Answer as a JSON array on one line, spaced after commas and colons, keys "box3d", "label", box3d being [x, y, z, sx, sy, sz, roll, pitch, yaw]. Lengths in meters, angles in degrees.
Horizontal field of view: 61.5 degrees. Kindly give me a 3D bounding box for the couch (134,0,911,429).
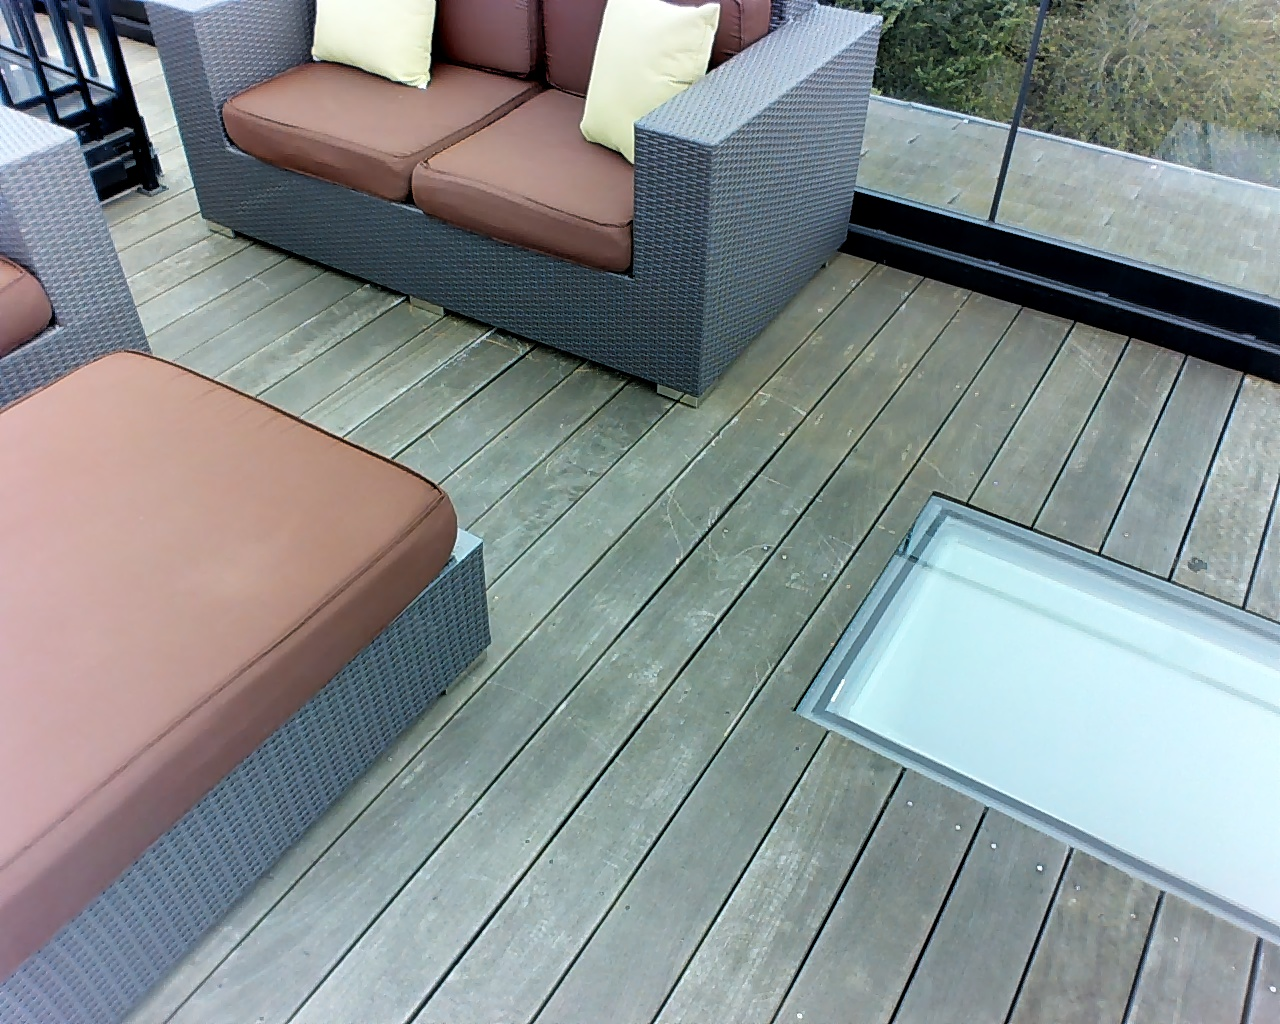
[{"box3d": [-0.310, -1.080, 2.890, 1.700, 0.810, 0.970, 23, 47, 22], "label": "couch"}]
